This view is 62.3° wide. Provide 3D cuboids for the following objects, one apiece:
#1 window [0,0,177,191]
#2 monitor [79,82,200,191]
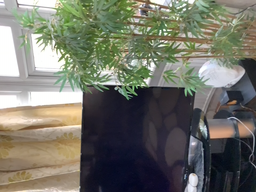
[{"bbox_3d":[-0.720,0.570,1.480,0.990,1.600,2.910,-152,65,-72],"label":"window"},{"bbox_3d":[0.070,0.610,1.560,0.050,0.830,1.390,-146,59,-71],"label":"monitor"}]
